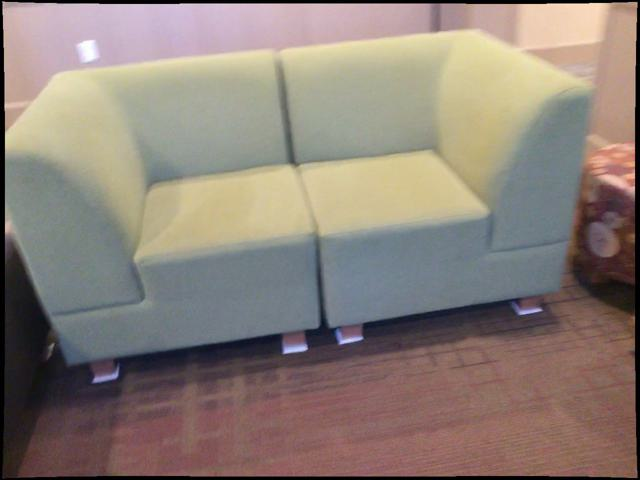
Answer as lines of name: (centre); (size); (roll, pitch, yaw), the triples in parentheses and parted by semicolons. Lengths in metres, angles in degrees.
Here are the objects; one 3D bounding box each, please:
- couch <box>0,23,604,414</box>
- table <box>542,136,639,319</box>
couch: (-0.110, -0.150, 1.950); (1.646, 0.801, 0.800); (-9, 31, -7)
table: (1.097, -0.070, 1.940); (0.439, 0.391, 0.470); (-9, 31, -7)
